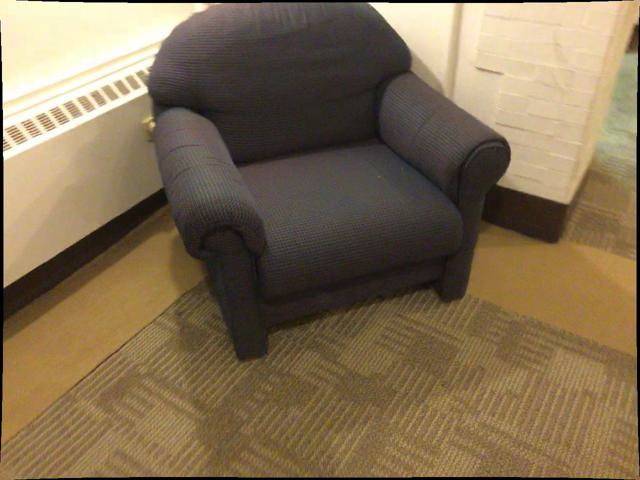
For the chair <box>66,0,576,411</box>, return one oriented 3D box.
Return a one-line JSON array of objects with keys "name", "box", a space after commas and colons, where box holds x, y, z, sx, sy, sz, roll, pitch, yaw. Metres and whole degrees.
[{"name": "chair", "box": [-0.080, -0.290, 1.910, 1.169, 0.840, 1.040, -16, 39, -16]}]
